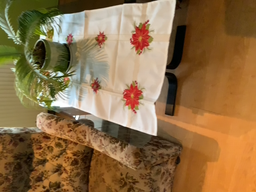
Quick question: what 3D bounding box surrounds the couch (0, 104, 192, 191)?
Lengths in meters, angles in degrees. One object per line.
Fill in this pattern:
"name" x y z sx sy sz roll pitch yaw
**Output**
"couch" -0.280 0.540 1.330 0.880 0.920 0.780 14 100 42
